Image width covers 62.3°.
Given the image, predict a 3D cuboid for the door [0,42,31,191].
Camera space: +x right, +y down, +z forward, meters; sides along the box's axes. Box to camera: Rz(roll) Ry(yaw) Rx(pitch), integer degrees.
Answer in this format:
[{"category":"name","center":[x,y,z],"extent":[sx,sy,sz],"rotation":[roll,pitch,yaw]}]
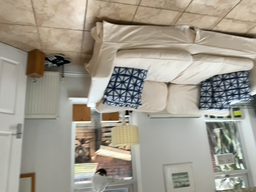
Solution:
[{"category":"door","center":[-1.360,0.350,1.980],"extent":[0.090,1.930,0.750],"rotation":[-16,159,35]}]

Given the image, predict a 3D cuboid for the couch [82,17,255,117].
[{"category":"couch","center":[0.520,-0.220,2.610],"extent":[2.060,0.740,0.990],"rotation":[1,162,-15]}]
